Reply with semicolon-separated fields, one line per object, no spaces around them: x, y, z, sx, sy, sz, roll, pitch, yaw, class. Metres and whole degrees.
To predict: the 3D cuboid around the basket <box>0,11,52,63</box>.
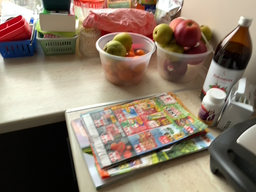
-0.400;-0.240;0.830;0.160;0.110;0.210;-10;41;-18;basket
